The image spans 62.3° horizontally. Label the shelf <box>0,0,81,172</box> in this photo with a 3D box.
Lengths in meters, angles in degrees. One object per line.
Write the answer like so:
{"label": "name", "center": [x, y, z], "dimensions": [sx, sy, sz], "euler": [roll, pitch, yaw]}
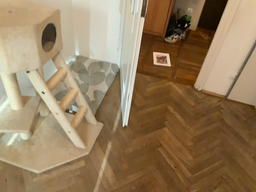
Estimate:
{"label": "shelf", "center": [-0.660, -0.100, 1.380], "dimensions": [0.450, 1.100, 0.550], "euler": [18, 42, 10]}

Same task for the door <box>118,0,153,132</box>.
{"label": "door", "center": [0.060, -0.740, 1.460], "dimensions": [0.070, 2.040, 0.870], "euler": [2, 42, -7]}
